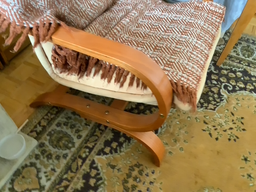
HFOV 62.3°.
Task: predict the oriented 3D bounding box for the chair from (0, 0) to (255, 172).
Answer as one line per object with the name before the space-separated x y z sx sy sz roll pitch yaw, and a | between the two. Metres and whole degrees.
chair | -0.060 -0.370 0.790 0.840 0.960 0.680 21 54 13
